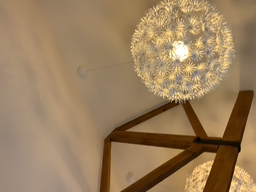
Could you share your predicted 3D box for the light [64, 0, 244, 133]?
[{"bbox_3d":[0.010,-0.490,2.380,1.060,1.030,1.970,-16,-169,-17],"label":"light"}]
